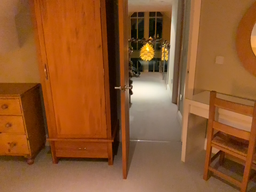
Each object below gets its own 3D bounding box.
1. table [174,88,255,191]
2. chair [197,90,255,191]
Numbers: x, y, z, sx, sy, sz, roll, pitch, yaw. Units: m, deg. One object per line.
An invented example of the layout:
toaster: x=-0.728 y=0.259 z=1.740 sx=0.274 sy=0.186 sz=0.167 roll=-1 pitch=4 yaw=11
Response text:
table: x=1.130 y=0.480 z=2.060 sx=0.490 sy=0.800 sz=1.240 roll=-17 pitch=25 yaw=-41
chair: x=1.040 y=0.450 z=2.060 sx=0.470 sy=0.860 sz=0.460 roll=-16 pitch=24 yaw=-39
